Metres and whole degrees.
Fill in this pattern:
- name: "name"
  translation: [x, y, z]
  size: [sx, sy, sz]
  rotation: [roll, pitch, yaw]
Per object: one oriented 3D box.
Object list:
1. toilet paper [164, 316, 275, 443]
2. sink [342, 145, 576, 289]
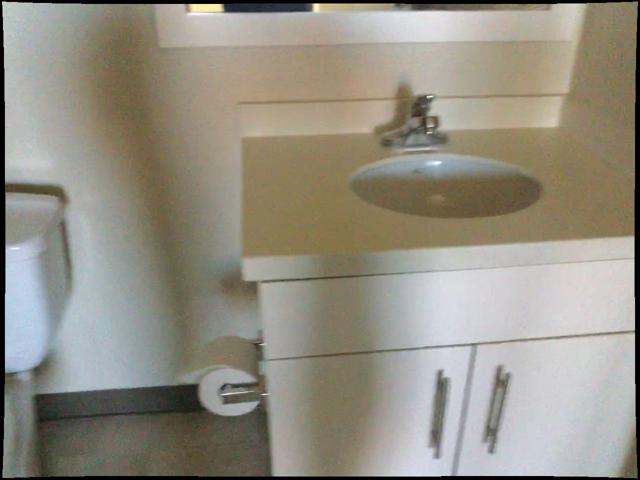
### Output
- name: "toilet paper"
  translation: [-0.200, 0.290, 1.220]
  size: [0.200, 0.170, 0.180]
  rotation: [-3, 30, -3]
- name: "sink"
  translation: [0.250, -0.060, 1.170]
  size: [0.380, 0.150, 0.300]
  rotation: [-3, 30, -3]
